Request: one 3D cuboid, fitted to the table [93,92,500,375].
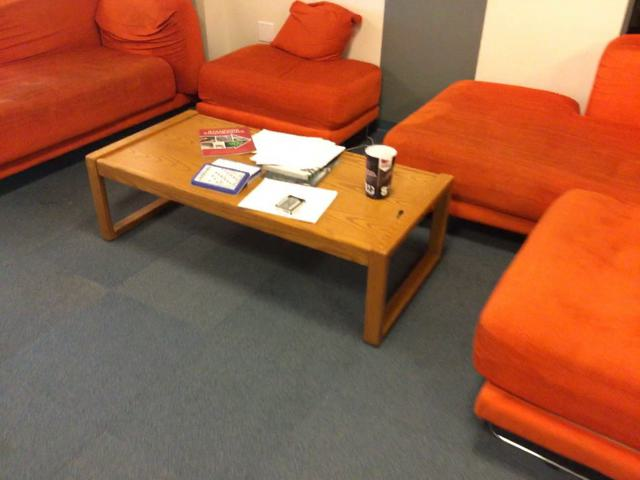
[{"bbox_3d":[-0.100,-0.120,2.240,1.320,0.430,0.690,21,37,23],"label":"table"}]

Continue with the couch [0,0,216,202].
[{"bbox_3d":[-1.400,-0.870,2.890,0.950,0.660,1.550,21,37,23],"label":"couch"}]
